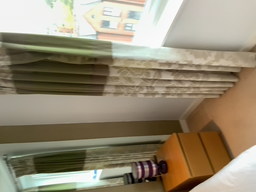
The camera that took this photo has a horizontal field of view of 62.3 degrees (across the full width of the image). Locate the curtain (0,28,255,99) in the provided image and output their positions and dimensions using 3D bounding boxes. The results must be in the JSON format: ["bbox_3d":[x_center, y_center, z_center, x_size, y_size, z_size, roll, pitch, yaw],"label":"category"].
[{"bbox_3d":[-0.040,-0.180,1.650,0.550,2.120,0.110,116,149,-52],"label":"curtain"}]
